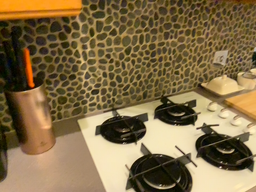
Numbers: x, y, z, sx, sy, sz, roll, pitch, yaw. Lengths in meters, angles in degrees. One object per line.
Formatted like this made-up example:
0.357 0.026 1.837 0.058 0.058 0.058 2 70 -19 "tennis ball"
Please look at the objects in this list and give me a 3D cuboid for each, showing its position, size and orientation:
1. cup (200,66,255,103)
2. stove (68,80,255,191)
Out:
0.590 -0.070 1.080 0.380 0.050 0.200 -12 30 -22 "cup"
0.180 0.120 0.730 0.640 0.040 0.570 -12 30 -23 "stove"
